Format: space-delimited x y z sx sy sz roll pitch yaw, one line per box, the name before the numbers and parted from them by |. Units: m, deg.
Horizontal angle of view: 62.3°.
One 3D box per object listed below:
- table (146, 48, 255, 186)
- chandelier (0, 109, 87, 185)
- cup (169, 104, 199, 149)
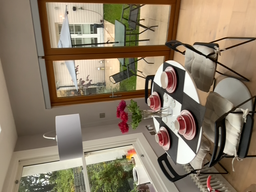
table | 0.770 0.130 2.310 1.030 0.740 1.030 -124 32 -58
chandelier | -0.840 0.420 1.820 0.340 0.900 0.450 -141 47 -68
cup | 0.480 0.260 1.860 0.280 0.080 0.280 -127 36 -61
